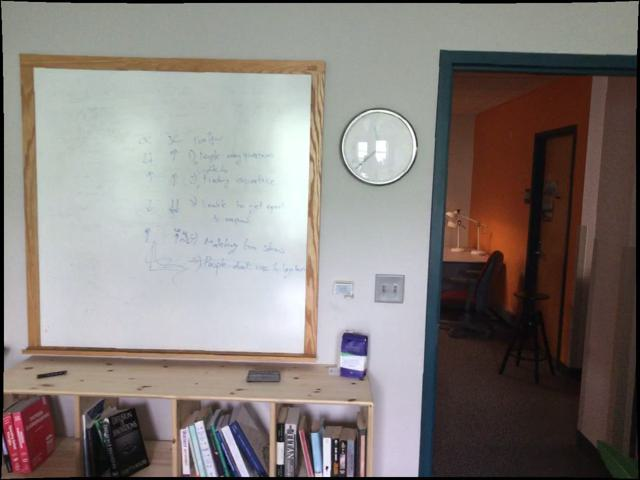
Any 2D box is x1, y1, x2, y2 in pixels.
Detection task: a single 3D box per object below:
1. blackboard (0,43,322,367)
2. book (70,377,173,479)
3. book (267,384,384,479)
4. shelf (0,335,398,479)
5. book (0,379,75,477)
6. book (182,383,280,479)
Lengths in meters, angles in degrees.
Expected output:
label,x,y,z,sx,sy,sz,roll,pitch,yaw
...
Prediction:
label,x,y,z,sx,sy,sz,roll,pitch,yaw
blackboard,-0.628,-0.100,2.320,1.167,1.193,0.070,-5,10,5
book,-0.748,0.732,2.230,0.219,0.241,0.410,1,11,4
book,0.030,0.732,2.190,0.409,0.231,0.320,1,11,4
shelf,-0.549,0.932,2.280,1.646,0.942,0.520,1,11,4
book,-1.137,0.732,2.280,0.160,0.231,0.330,1,11,4
book,-0.329,0.722,2.220,0.299,0.200,0.340,1,11,4
